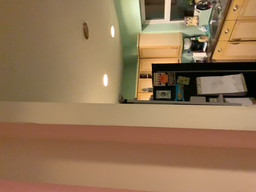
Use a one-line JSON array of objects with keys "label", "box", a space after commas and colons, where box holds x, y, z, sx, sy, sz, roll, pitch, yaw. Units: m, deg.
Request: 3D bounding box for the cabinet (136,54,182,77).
[{"label": "cabinet", "box": [0.590, -0.580, 4.090, 0.340, 0.820, 0.300, 76, -163, -61]}]

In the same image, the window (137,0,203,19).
[{"label": "window", "box": [0.690, -1.730, 3.460, 1.040, 1.100, 0.090, 76, -163, -61]}]
